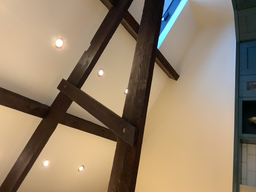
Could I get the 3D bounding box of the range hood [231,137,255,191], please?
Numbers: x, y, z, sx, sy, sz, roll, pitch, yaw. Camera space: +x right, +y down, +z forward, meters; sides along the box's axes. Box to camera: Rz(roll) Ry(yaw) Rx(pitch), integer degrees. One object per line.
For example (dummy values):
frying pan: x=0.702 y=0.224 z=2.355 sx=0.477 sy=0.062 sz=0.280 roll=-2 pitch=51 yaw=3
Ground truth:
range hood: x=1.490 y=0.920 z=2.470 sx=0.320 sy=0.470 sz=0.790 roll=33 pitch=-118 yaw=-52
